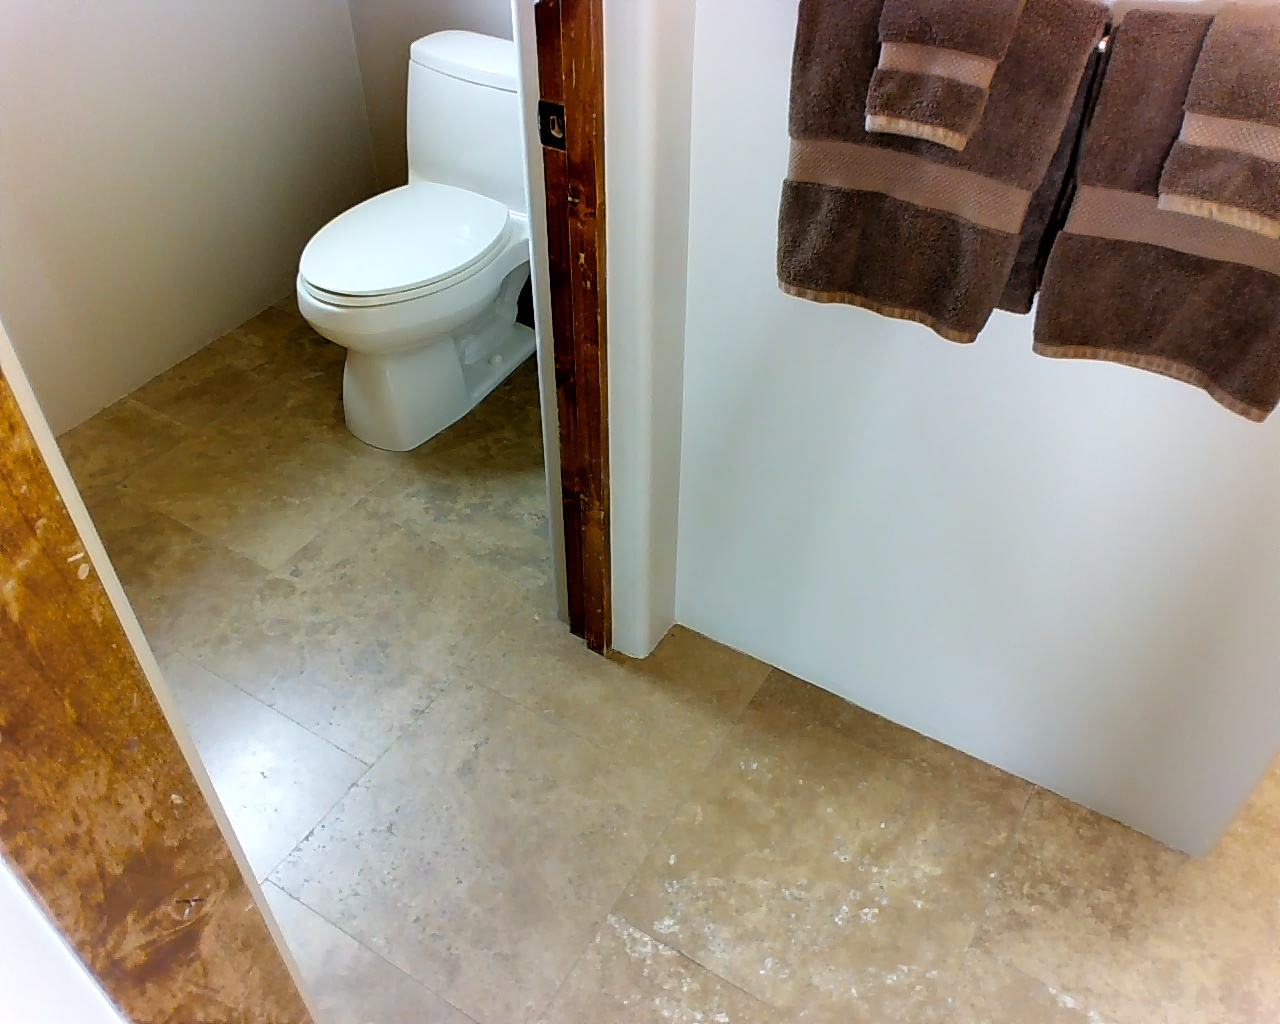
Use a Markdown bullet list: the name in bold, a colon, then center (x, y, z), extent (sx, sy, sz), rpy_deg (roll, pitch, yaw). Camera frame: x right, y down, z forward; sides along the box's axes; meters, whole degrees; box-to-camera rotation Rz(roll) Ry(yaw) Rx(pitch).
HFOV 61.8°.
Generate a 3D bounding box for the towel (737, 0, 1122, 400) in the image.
- **towel**: center (0.280, -0.350, 1.110), extent (0.290, 0.360, 0.170), rpy_deg (22, 46, 22)

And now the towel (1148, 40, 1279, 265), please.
- **towel**: center (0.520, -0.300, 0.900), extent (0.120, 0.150, 0.060), rpy_deg (22, 46, 22)

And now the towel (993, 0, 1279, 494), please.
- **towel**: center (0.550, -0.250, 1.000), extent (0.310, 0.380, 0.170), rpy_deg (22, 46, 22)
